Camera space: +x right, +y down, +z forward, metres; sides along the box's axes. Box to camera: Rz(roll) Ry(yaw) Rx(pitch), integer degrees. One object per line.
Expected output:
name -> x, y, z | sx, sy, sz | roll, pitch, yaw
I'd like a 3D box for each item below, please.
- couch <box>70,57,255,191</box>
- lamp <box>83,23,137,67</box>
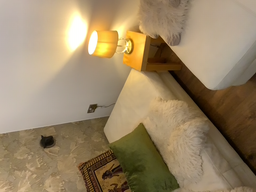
couch -> 0.310, 0.770, 1.580 | 2.060, 0.730, 1.030 | 59, 139, 33
lamp -> -0.150, -0.400, 1.700 | 0.200, 0.310, 0.260 | 60, 139, 32
